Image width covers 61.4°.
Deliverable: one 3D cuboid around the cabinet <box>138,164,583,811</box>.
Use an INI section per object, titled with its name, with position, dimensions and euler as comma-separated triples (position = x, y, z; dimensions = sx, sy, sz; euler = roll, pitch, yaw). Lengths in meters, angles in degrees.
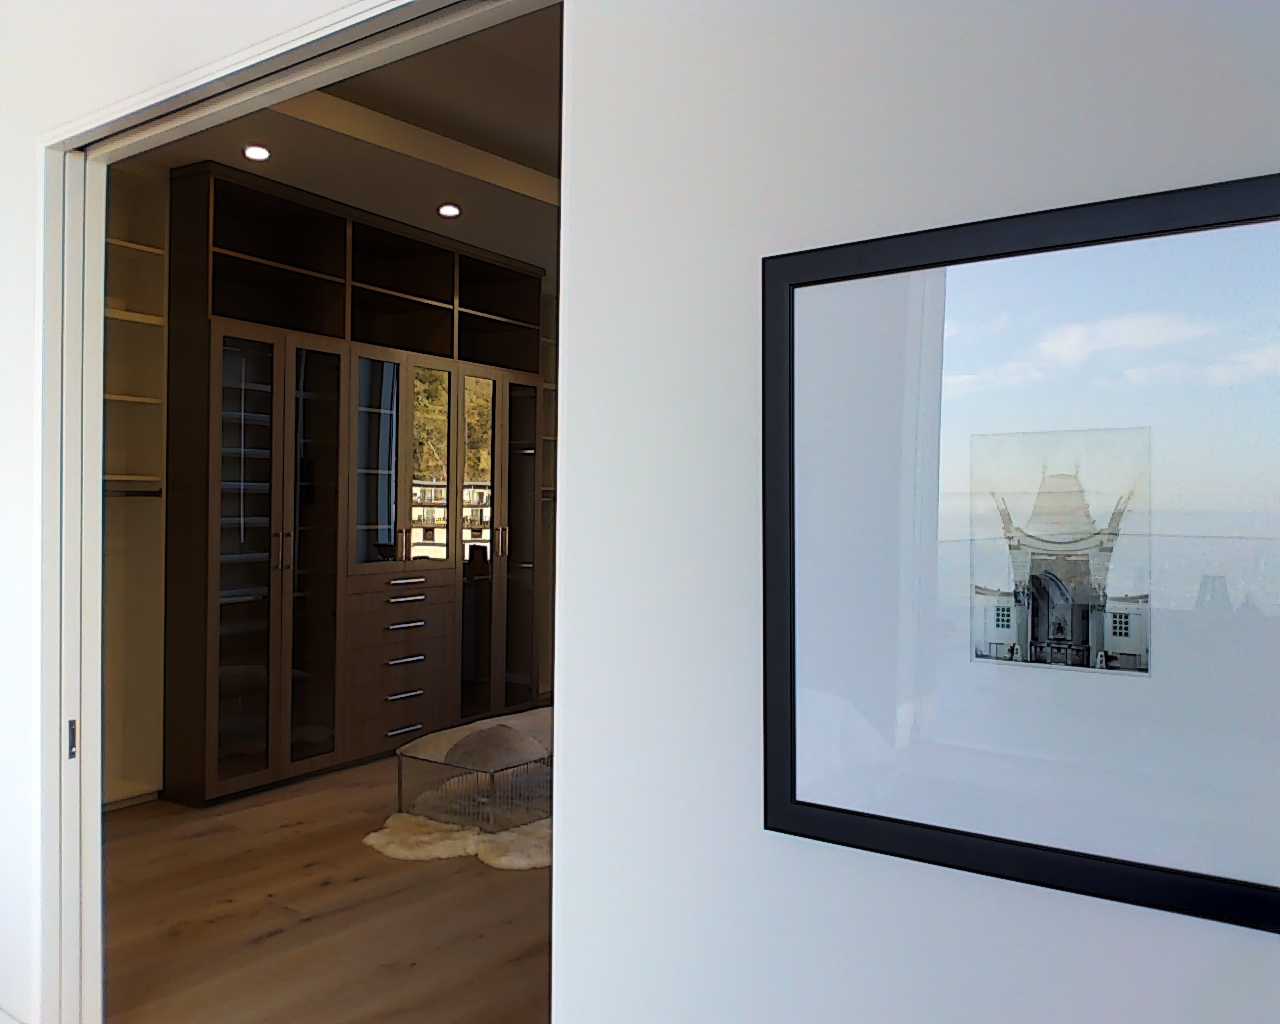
[cabinet]
position = -1.500, -0.130, 6.650
dimensions = 0.680, 3.110, 3.030
euler = 1, 1, 31
